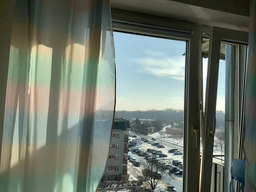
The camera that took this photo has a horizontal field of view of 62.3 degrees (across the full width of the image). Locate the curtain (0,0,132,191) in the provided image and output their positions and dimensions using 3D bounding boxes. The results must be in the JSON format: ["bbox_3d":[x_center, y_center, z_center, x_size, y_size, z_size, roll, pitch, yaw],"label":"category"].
[{"bbox_3d":[-0.310,-0.070,1.040,0.570,1.830,0.280,4,-5,-15],"label":"curtain"}]
